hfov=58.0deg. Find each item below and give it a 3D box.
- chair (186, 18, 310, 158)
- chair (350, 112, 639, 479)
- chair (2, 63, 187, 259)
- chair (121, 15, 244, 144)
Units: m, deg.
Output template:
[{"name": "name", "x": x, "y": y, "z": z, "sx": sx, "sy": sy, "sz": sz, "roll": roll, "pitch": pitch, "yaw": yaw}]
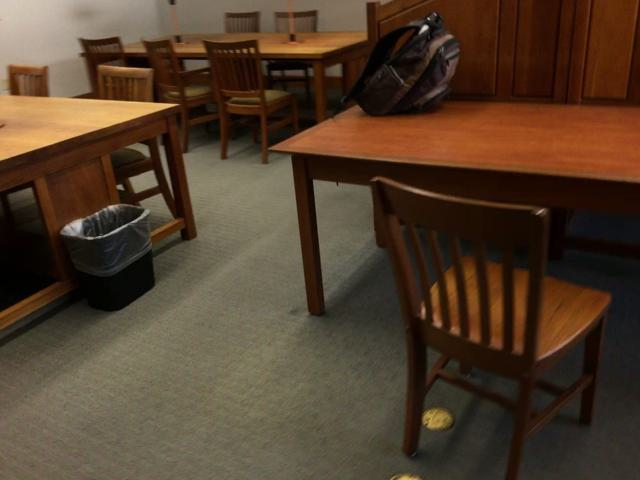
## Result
[{"name": "chair", "x": -0.530, "y": -1.220, "z": 4.540, "sx": 0.590, "sy": 0.910, "sz": 0.680, "roll": 12, "pitch": 31, "yaw": 28}, {"name": "chair", "x": 0.490, "y": 0.190, "z": 1.590, "sx": 0.560, "sy": 0.890, "sz": 0.570, "roll": 19, "pitch": 34, "yaw": 37}, {"name": "chair", "x": -1.220, "y": -0.470, "z": 3.250, "sx": 0.520, "sy": 0.890, "sz": 0.610, "roll": 12, "pitch": 31, "yaw": 28}, {"name": "chair", "x": -1.140, "y": -1.390, "z": 4.940, "sx": 0.610, "sy": 0.920, "sz": 0.660, "roll": 12, "pitch": 31, "yaw": 28}]
